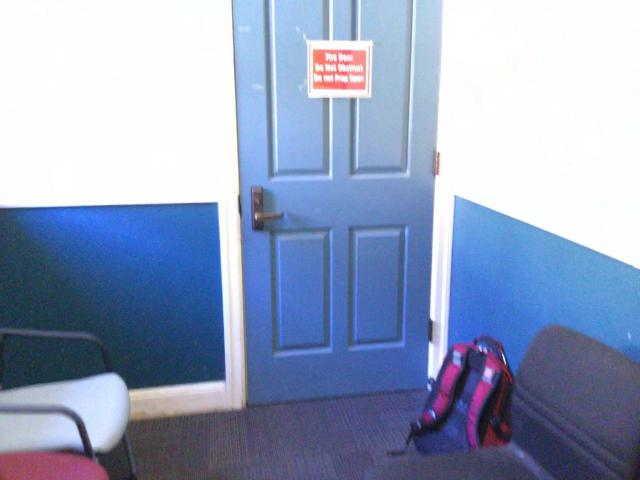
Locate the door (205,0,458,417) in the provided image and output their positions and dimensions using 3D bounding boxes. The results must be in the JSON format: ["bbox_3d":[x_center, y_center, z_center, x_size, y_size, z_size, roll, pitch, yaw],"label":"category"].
[{"bbox_3d":[0.050,-0.110,2.580,1.050,1.810,0.110,-1,11,-10],"label":"door"}]
